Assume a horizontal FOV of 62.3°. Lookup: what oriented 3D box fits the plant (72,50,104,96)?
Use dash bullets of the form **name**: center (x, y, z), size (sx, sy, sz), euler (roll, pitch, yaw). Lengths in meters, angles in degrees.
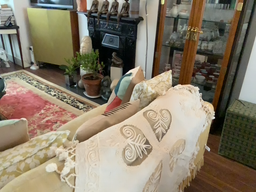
- **plant**: center (-0.530, -0.320, 2.880), size (0.310, 0.520, 0.270), euler (22, 32, 35)
